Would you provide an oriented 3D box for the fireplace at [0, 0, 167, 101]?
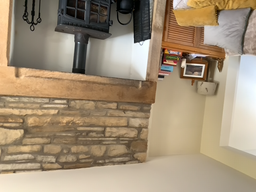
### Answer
[{"bbox_3d":[-0.510,-0.780,2.550,1.820,1.540,0.600,4,-178,-24],"label":"fireplace"}]

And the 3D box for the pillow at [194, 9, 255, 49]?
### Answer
[{"bbox_3d":[1.040,-0.700,2.310,0.320,0.260,0.530,4,-176,-22],"label":"pillow"}]
